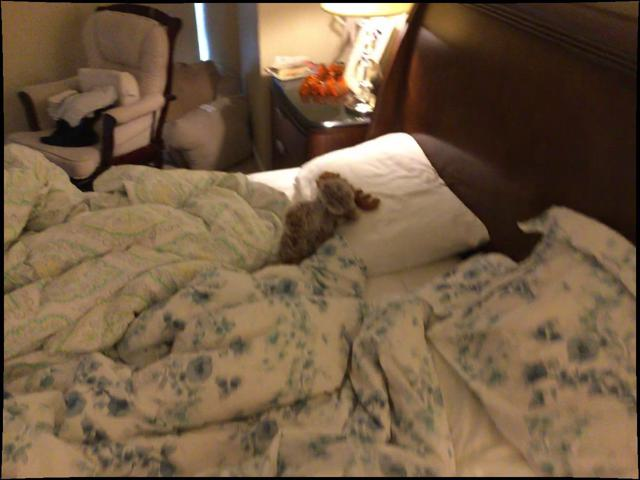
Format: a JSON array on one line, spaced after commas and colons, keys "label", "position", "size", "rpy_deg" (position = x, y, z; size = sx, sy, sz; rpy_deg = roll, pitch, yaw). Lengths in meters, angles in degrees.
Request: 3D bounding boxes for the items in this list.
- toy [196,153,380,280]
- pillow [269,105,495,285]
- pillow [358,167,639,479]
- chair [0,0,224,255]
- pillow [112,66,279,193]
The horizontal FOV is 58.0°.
[{"label": "toy", "position": [-0.100, -0.080, 1.620], "size": [0.449, 0.160, 0.310], "rpy_deg": [-9, 35, -11]}, {"label": "pillow", "position": [0.140, -0.190, 1.820], "size": [0.469, 0.150, 0.770], "rpy_deg": [-9, 35, -11]}, {"label": "pillow", "position": [0.429, 0.291, 0.960], "size": [0.449, 0.361, 1.001], "rpy_deg": [-9, 35, -11]}, {"label": "chair", "position": [-1.167, -0.672, 3.020], "size": [0.809, 0.962, 0.940], "rpy_deg": [18, 39, 25]}, {"label": "pillow", "position": [-0.738, -0.712, 3.550], "size": [0.649, 0.421, 0.710], "rpy_deg": [20, 40, 28]}]
